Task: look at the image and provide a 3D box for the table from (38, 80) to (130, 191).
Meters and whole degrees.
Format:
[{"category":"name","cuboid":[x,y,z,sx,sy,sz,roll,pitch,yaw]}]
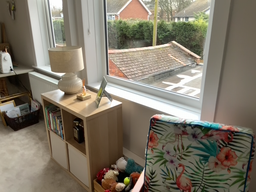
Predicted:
[{"category":"table","cuboid":[-0.440,0.330,2.150,0.800,0.750,0.490,19,28,41]}]
